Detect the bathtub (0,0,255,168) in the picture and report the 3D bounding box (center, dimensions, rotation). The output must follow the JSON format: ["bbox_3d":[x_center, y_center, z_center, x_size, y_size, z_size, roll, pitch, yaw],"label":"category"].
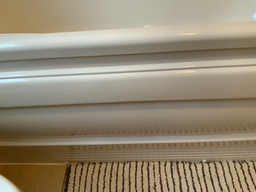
[{"bbox_3d":[0.080,-0.190,0.760,1.710,0.540,0.710,-1,52,4],"label":"bathtub"}]
